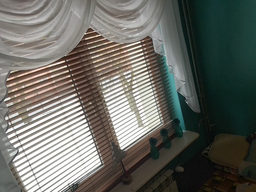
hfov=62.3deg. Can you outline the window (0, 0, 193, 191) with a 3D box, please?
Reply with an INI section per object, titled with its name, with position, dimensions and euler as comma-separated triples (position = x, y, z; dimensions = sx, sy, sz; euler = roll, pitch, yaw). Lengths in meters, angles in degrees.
[window]
position = -0.270, -0.130, 1.470
dimensions = 1.740, 1.890, 0.210
euler = -28, 20, -36
